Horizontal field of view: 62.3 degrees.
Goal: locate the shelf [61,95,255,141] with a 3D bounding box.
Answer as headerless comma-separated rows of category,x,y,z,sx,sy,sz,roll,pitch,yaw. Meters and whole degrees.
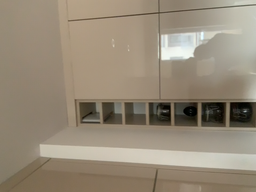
shelf,0.180,0.110,1.340,0.360,1.110,0.180,-38,-53,-75
